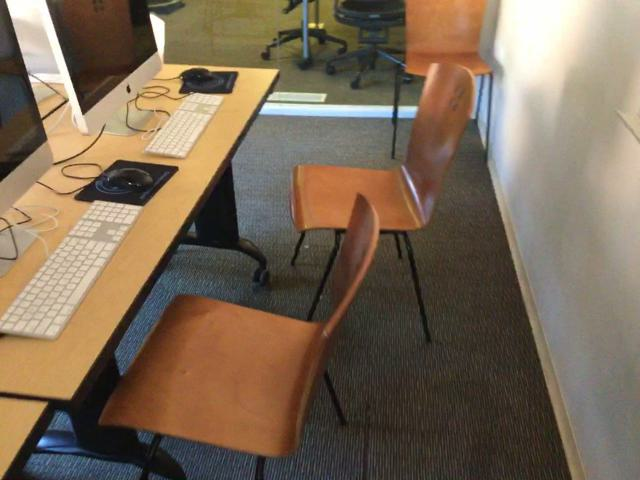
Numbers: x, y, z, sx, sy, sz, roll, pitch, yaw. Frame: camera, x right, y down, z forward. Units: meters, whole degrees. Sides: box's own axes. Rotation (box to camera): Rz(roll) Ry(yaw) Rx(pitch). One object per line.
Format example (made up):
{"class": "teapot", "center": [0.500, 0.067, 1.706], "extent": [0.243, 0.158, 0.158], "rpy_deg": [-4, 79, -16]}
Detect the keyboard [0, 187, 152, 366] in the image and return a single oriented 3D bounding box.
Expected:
{"class": "keyboard", "center": [-0.490, 0.040, 1.090], "extent": [0.180, 0.030, 0.470], "rpy_deg": [4, 37, 6]}

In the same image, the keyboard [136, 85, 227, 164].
{"class": "keyboard", "center": [-0.380, -0.340, 1.640], "extent": [0.120, 0.030, 0.440], "rpy_deg": [4, 37, 6]}
